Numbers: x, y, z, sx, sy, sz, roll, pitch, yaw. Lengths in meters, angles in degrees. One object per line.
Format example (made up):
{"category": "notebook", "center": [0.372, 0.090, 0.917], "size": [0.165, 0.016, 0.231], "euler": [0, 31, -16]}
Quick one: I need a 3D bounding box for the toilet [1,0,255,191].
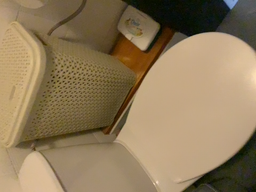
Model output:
{"category": "toilet", "center": [0.150, 0.100, 0.740], "size": [0.370, 0.820, 0.690], "euler": [46, 117, 30]}

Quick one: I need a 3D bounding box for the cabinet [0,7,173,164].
{"category": "cabinet", "center": [-0.200, -0.040, 0.970], "size": [0.360, 0.730, 0.380], "euler": [44, 116, 31]}
